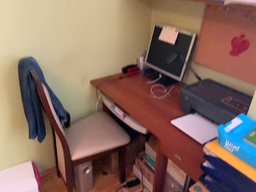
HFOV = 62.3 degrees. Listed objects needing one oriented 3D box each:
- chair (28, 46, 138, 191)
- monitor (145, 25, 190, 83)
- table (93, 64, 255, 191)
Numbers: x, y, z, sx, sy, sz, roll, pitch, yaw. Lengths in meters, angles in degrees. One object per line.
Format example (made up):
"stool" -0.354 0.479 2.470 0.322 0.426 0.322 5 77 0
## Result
"chair" -0.310 0.220 1.570 0.540 1.010 0.470 -15 34 -27
"monitor" 0.300 -0.330 1.660 0.050 0.390 0.440 -15 19 -29
"table" 0.240 0.330 1.670 0.570 0.750 1.100 -17 35 -29
